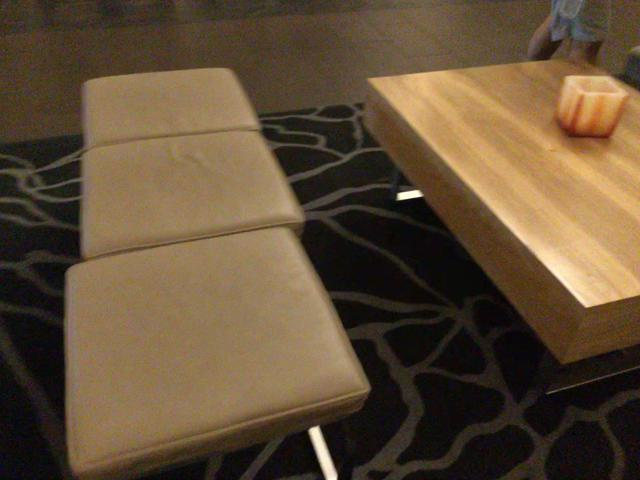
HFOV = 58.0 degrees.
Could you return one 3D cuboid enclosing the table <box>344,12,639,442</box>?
[{"bbox_3d":[0.830,-0.210,1.890,1.080,0.590,1.330,-9,40,-15],"label":"table"}]
